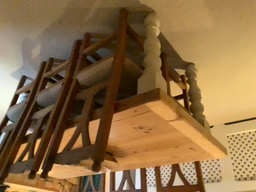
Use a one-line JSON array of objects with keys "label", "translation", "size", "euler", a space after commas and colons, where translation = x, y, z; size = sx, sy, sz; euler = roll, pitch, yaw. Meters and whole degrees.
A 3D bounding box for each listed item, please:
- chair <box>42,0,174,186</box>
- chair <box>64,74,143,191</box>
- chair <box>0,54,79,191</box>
[{"label": "chair", "translation": [-0.070, -0.040, 1.330], "size": [0.480, 1.030, 0.460], "euler": [-20, 142, 32]}, {"label": "chair", "translation": [-0.180, 0.400, 2.040], "size": [0.480, 1.050, 0.460], "euler": [-19, 143, 31]}, {"label": "chair", "translation": [-0.840, 0.240, 1.850], "size": [0.500, 1.020, 0.430], "euler": [-20, 142, 32]}]
